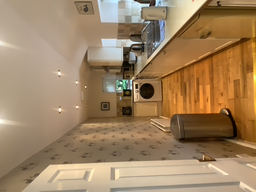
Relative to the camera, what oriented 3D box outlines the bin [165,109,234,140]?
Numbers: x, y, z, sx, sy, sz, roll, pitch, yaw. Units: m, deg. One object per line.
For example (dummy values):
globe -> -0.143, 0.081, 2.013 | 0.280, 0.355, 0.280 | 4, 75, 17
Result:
bin -> 0.870, 0.340, 2.670 | 0.410, 0.720, 0.330 | 167, 103, -85
